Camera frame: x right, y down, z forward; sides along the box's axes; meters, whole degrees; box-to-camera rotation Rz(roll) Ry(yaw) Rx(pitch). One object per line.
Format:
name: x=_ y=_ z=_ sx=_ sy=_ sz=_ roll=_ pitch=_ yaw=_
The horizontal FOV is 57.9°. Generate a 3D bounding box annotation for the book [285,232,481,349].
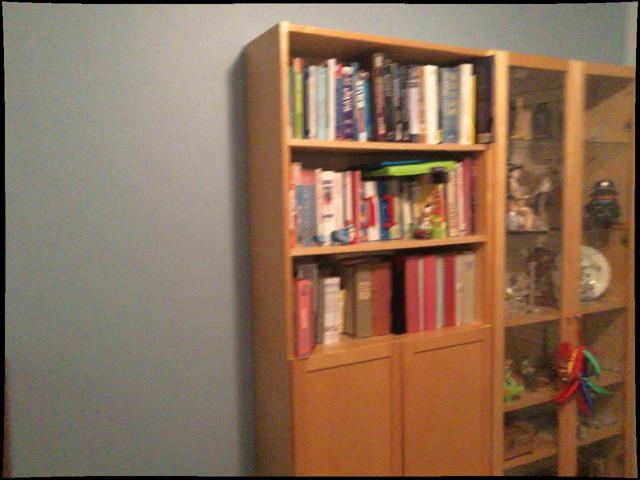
book: x=0.230 y=0.150 z=2.000 sx=0.649 sy=0.300 sz=0.230 roll=-5 pitch=6 yaw=-28

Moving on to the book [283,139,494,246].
book: x=0.240 y=-0.170 z=1.960 sx=0.659 sy=0.310 sz=0.290 roll=-5 pitch=6 yaw=-28

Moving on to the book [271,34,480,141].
book: x=0.200 y=-0.480 z=1.910 sx=0.689 sy=0.280 sz=0.190 roll=-5 pitch=6 yaw=-28
